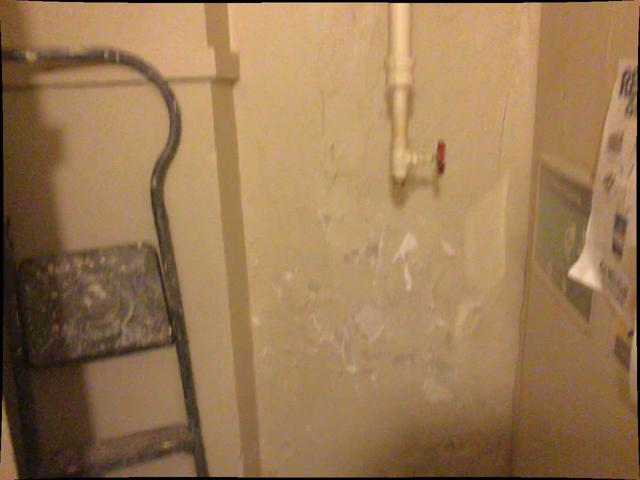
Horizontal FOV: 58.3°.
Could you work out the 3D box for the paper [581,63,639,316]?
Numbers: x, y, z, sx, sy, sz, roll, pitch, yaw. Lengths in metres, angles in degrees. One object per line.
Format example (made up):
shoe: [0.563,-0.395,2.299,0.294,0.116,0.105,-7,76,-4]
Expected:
paper: [0.530,-0.100,0.970,0.050,0.380,0.270,-1,15,5]
